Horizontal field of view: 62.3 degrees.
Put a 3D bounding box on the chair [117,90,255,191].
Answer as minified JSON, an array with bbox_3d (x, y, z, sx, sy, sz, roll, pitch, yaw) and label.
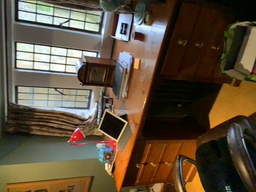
[{"bbox_3d":[0.570,0.460,1.210,0.640,1.030,0.720,130,137,-55],"label":"chair"}]

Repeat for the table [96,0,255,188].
[{"bbox_3d":[0.320,-0.110,2.080,0.930,0.840,1.640,-125,43,-55],"label":"table"}]
